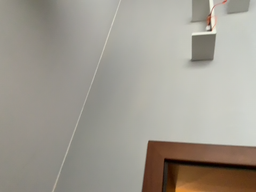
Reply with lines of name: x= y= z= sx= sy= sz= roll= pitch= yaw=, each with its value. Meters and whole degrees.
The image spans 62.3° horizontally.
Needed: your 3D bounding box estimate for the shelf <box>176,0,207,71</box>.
shelf: x=0.390 y=-0.380 z=1.290 sx=0.180 sy=0.150 sz=0.450 roll=68 pitch=-152 yaw=-48
